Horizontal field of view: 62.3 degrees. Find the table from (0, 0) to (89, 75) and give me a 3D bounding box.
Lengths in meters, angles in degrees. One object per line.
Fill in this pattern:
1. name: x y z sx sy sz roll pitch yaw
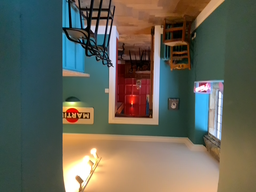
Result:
1. table: -1.080 -0.870 2.850 0.610 1.100 2.150 1 -176 3
